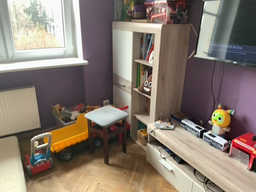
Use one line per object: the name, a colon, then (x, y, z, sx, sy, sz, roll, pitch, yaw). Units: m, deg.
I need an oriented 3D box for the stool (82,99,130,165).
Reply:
stool: (-0.230, 0.360, 2.240, 0.320, 0.500, 0.390, -16, 27, -37)

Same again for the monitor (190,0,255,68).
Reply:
monitor: (0.740, -0.430, 1.390, 0.050, 0.430, 0.740, -7, 22, -30)

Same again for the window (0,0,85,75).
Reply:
window: (-1.230, -1.170, 1.970, 1.580, 1.930, 0.160, -13, 25, -31)
